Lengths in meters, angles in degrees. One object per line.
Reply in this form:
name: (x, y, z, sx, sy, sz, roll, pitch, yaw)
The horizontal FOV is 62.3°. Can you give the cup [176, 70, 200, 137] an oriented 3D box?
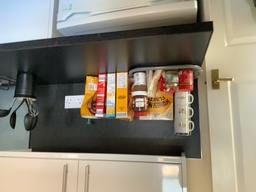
cup: (0.340, 0.050, 1.200, 0.110, 0.350, 0.160, -3, 170, 18)
